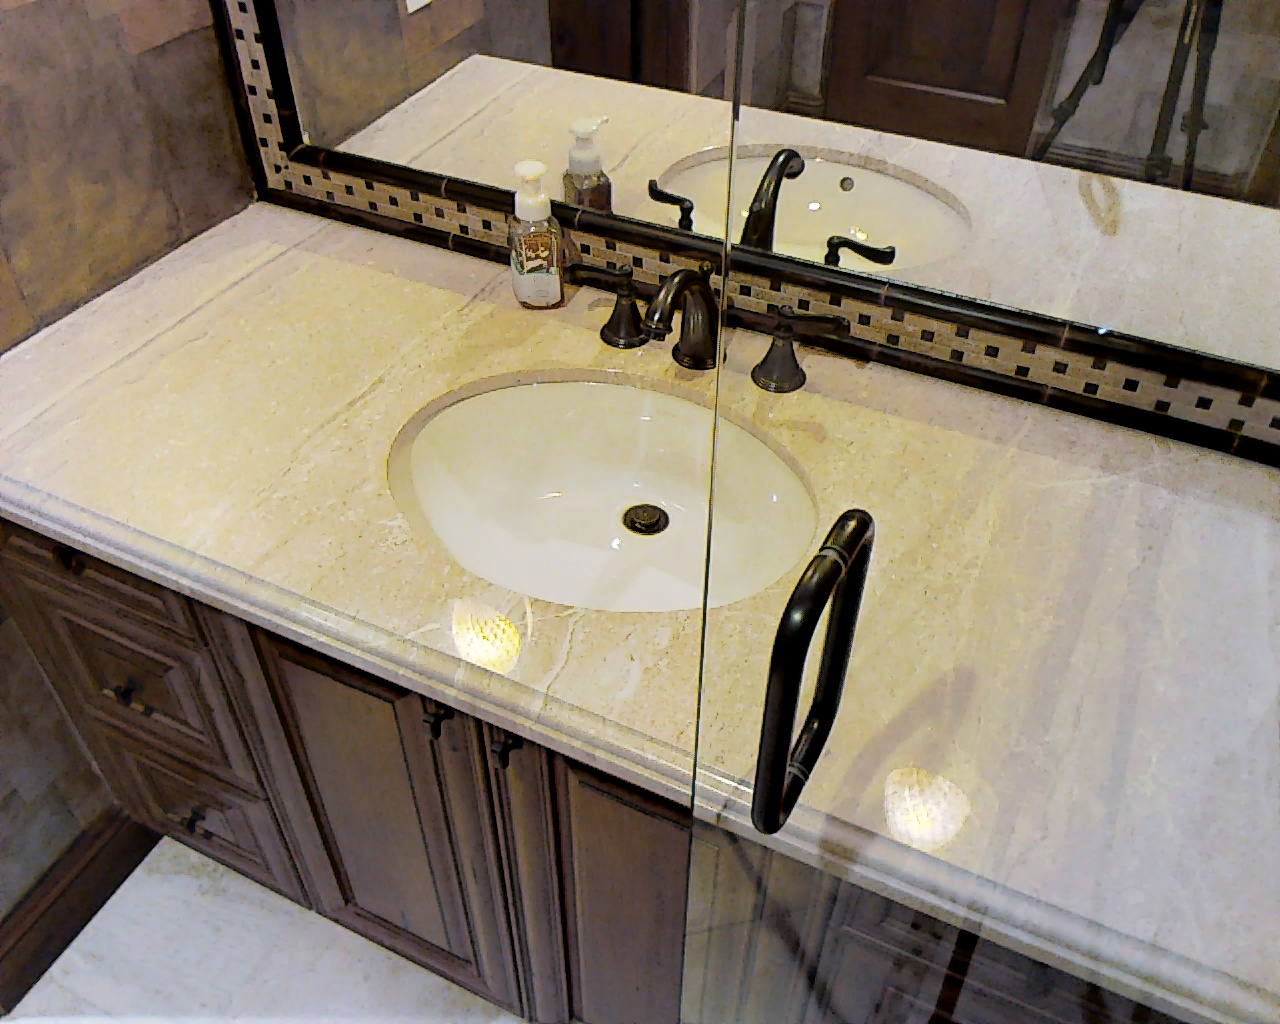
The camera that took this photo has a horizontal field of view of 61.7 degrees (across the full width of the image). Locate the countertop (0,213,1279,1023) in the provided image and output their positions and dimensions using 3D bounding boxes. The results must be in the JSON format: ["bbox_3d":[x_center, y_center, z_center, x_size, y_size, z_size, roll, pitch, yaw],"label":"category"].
[{"bbox_3d":[-0.040,-0.010,1.140,1.470,0.050,0.640,18,45,19],"label":"countertop"}]
